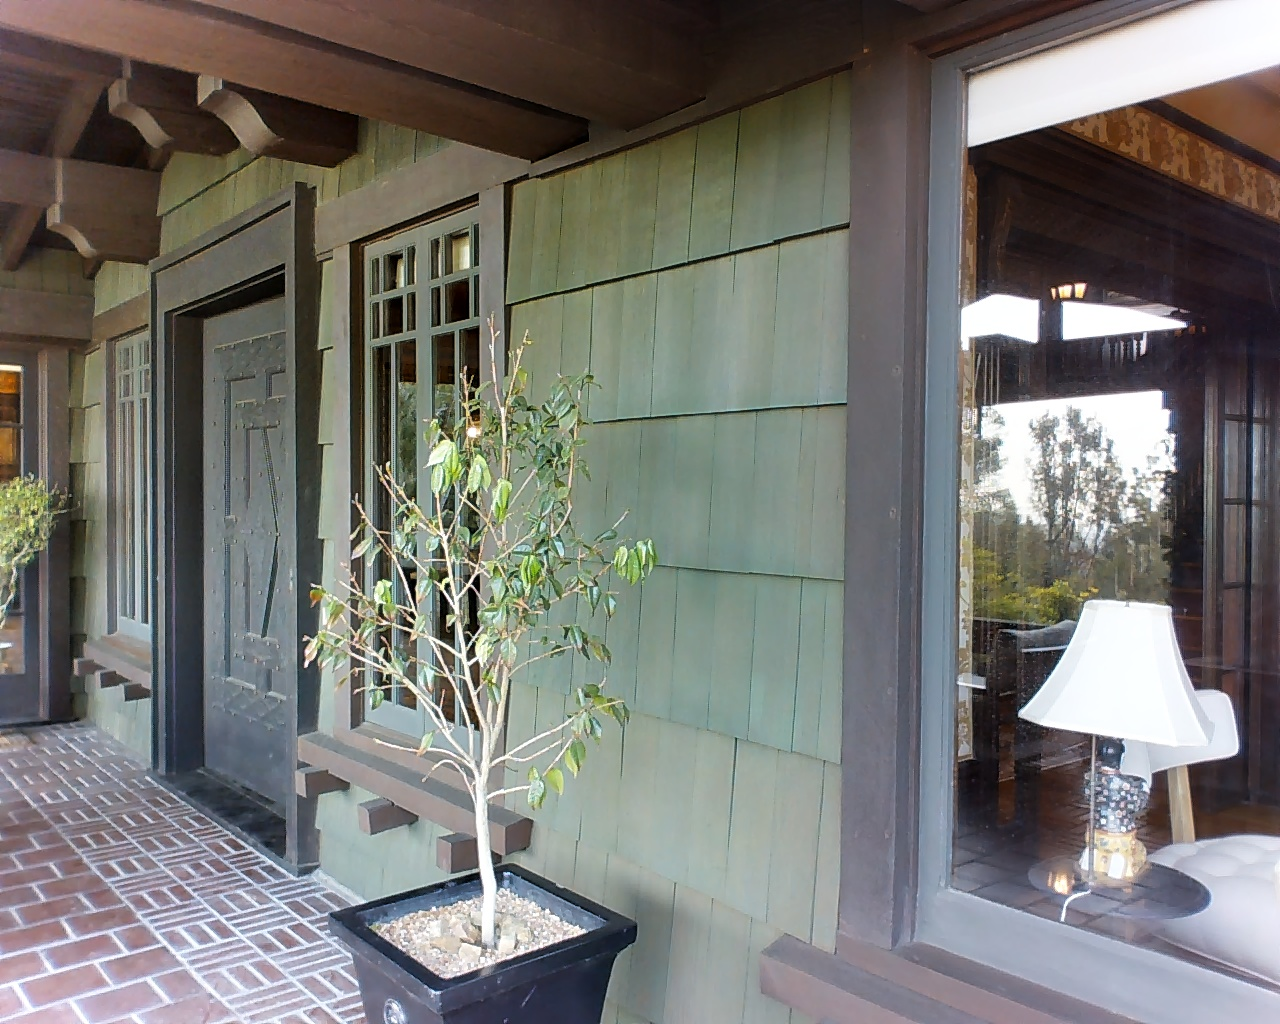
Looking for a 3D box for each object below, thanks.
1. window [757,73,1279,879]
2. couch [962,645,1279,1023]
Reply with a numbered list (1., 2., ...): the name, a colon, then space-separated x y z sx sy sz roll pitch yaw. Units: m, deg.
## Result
1. window: 1.810 -0.100 4.150 3.590 2.180 0.240 0 1 -40
2. couch: 2.100 1.080 3.800 1.940 0.960 0.910 0 1 -40
